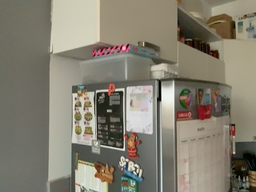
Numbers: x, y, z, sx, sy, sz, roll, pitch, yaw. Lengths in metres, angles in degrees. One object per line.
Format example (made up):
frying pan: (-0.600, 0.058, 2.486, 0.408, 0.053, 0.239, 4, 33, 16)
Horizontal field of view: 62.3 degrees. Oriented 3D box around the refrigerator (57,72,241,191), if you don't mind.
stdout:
refrigerator: (0.110, 0.830, 0.970, 0.630, 1.770, 0.580, -1, -2, 39)
